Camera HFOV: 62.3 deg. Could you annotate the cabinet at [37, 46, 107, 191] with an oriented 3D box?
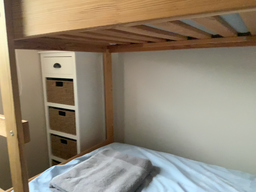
[{"bbox_3d":[-0.440,0.200,1.740,0.400,1.150,0.320,6,11,32],"label":"cabinet"}]
